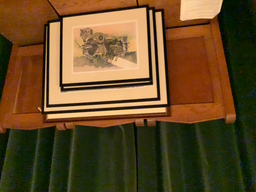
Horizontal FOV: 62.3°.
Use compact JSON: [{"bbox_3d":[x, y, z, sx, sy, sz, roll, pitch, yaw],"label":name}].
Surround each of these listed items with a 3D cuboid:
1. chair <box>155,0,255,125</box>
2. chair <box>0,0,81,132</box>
[{"bbox_3d":[0.330,-0.420,1.120,0.360,1.070,0.400,-4,162,9],"label":"chair"},{"bbox_3d":[-0.610,-0.360,1.260,0.490,1.070,0.390,-4,162,9],"label":"chair"}]
